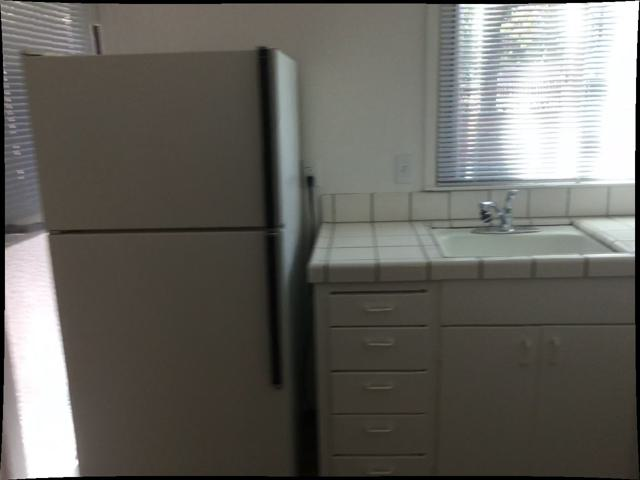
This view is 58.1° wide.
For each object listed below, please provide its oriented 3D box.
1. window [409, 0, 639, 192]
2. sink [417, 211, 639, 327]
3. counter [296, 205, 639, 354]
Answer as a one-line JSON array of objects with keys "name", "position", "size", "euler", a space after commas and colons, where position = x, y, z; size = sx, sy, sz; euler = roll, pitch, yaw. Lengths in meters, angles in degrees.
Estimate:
[{"name": "window", "position": [0.958, -0.781, 2.170], "size": [1.188, 1.182, 0.150], "euler": [0, 16, 1]}, {"name": "sink", "position": [0.689, 0.080, 2.070], "size": [0.589, 0.230, 0.590], "euler": [0, 16, 1]}, {"name": "counter", "position": [0.998, 0.090, 1.970], "size": [2.107, 0.240, 0.800], "euler": [0, 16, 1]}]
